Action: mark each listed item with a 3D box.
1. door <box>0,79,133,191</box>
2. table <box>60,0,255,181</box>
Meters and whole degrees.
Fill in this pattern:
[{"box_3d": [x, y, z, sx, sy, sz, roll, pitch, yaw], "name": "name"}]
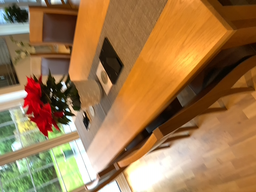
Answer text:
[{"box_3d": [-1.260, 0.950, 3.080, 2.370, 2.100, 0.160, 61, 147, 20], "name": "door"}, {"box_3d": [0.080, -0.160, 1.640, 0.930, 0.770, 1.840, 61, 147, 21], "name": "table"}]
